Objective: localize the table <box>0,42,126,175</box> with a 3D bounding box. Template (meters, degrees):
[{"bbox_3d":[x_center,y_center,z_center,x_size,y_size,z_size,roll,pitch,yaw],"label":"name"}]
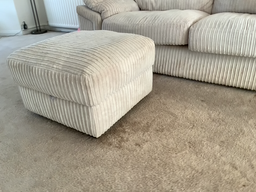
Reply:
[{"bbox_3d":[-0.480,-0.020,1.330,0.660,0.420,0.660,16,34,31],"label":"table"}]

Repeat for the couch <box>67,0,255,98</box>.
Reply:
[{"bbox_3d":[0.600,-0.670,1.740,2.040,0.800,0.990,16,34,31],"label":"couch"}]
